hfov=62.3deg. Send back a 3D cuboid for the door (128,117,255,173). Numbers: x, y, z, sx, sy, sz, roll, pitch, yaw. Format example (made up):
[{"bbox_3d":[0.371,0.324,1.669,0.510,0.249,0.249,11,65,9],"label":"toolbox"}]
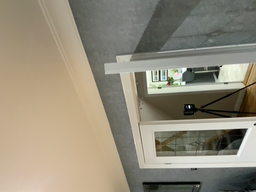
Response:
[{"bbox_3d":[1.080,0.560,2.270,0.070,2.070,0.880,-85,-10,-48],"label":"door"}]

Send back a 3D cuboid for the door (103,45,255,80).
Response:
[{"bbox_3d":[0.940,-0.230,1.040,0.850,1.970,0.080,-61,-32,-77],"label":"door"}]
